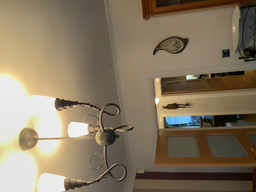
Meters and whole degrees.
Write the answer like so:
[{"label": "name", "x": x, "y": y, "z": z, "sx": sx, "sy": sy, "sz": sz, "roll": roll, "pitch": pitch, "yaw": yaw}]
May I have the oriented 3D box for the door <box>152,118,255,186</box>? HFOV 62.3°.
[{"label": "door", "x": 1.290, "y": 0.540, "z": 2.290, "sx": 0.970, "sy": 1.990, "sz": 0.180, "roll": -65, "pitch": -31, "yaw": -67}]
